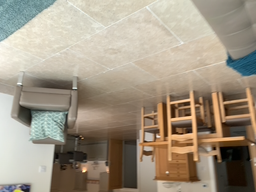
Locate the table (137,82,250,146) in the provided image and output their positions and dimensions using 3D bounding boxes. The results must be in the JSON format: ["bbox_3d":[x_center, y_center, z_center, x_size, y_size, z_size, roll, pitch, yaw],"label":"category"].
[{"bbox_3d":[1.050,0.410,3.570,1.510,0.730,0.960,-12,159,36],"label":"table"}]

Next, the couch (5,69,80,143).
[{"bbox_3d":[-1.050,0.190,2.840,0.710,0.780,0.810,4,162,-10],"label":"couch"}]
